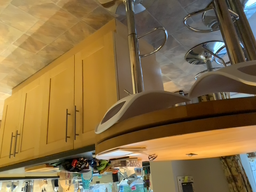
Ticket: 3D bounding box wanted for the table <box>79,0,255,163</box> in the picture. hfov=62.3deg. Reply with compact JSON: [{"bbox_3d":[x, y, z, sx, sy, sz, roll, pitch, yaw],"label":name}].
[{"bbox_3d":[0.420,-0.150,1.290,0.970,0.940,0.980,-19,154,32],"label":"table"}]
